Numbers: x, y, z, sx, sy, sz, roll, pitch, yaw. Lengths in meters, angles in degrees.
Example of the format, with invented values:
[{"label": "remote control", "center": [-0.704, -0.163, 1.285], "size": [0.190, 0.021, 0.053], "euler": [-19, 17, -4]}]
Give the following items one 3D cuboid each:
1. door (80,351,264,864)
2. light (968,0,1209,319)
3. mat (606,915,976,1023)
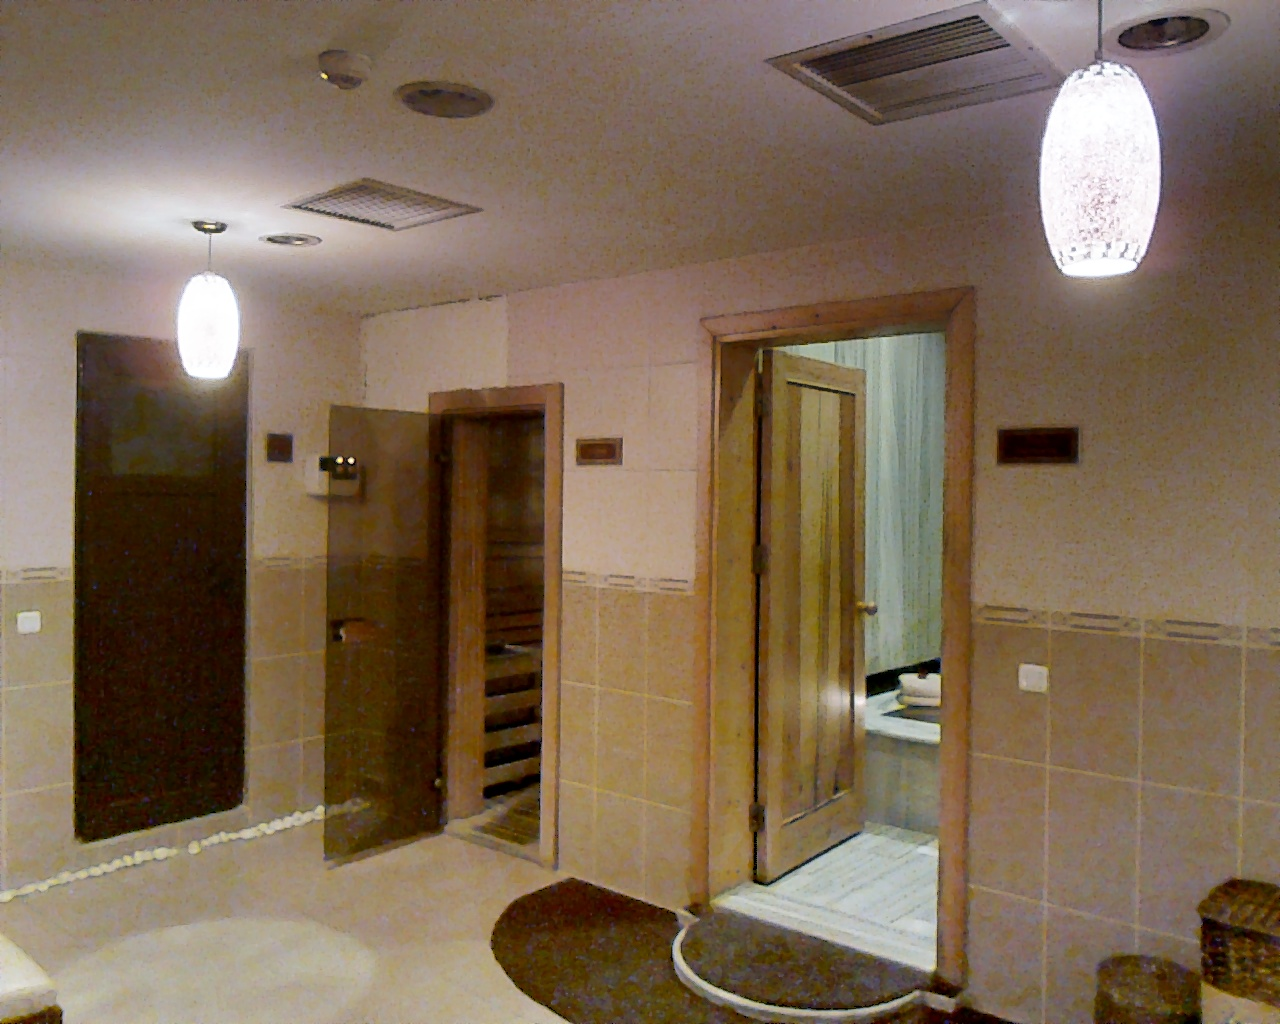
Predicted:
[{"label": "door", "center": [-1.970, 0.380, 4.580], "size": [0.070, 2.040, 0.750], "euler": [1, 0, 41]}, {"label": "light", "center": [0.710, -0.580, 1.690], "size": [0.250, 0.470, 0.230], "euler": [1, -15, 41]}, {"label": "mat", "center": [0.460, 1.530, 3.450], "size": [1.050, 0.060, 0.540], "euler": [1, 0, 41]}]
